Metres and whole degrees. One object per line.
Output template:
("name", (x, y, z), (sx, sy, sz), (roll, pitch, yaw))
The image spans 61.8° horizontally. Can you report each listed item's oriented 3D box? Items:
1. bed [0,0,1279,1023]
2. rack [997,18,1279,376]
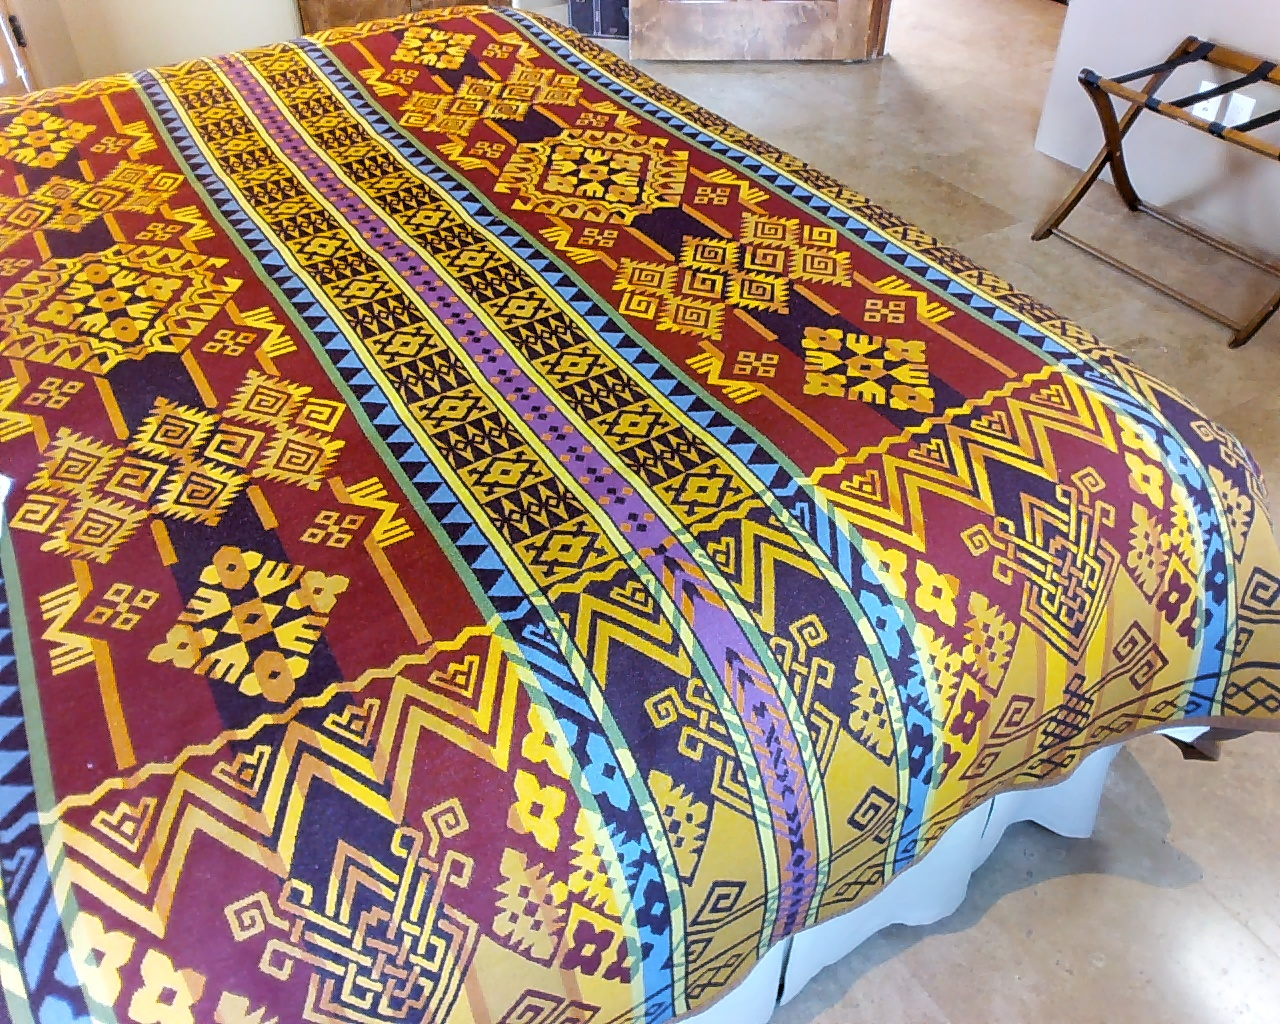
("bed", (-0.580, -0.060, 1.720), (2.330, 0.890, 2.260), (-23, 45, -24))
("rack", (1.460, -0.850, 2.790), (0.510, 0.560, 0.780), (-22, 45, -23))
